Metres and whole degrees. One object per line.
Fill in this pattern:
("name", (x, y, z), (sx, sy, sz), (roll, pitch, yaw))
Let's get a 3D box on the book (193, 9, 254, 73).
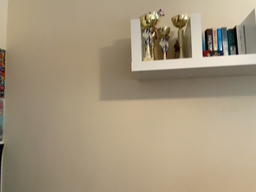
("book", (0.530, -0.300, 1.220), (0.250, 0.280, 0.230), (-1, -5, 7))
